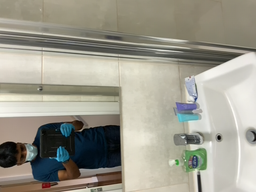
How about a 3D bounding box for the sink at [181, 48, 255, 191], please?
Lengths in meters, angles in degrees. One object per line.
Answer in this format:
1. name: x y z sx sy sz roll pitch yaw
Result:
1. sink: 0.420 0.160 0.800 0.400 0.190 0.550 155 114 -67
